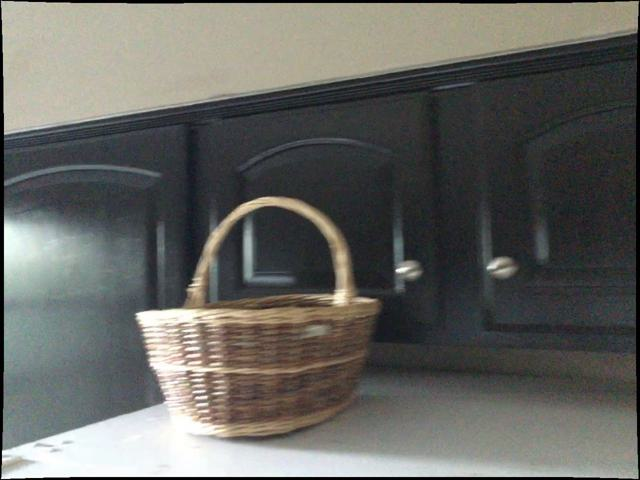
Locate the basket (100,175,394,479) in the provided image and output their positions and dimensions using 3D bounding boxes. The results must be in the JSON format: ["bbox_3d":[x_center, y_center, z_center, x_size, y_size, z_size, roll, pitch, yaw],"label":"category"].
[{"bbox_3d":[-0.070,0.080,0.690,0.240,0.281,0.270,1,0,25],"label":"basket"}]
